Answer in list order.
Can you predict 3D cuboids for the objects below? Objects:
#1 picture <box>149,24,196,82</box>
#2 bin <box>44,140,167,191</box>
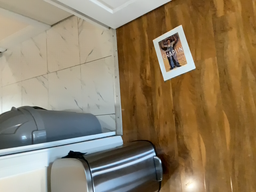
[{"bbox_3d":[0.270,-0.270,1.340,0.220,0.010,0.300,-24,75,30],"label":"picture"},{"bbox_3d":[-0.070,0.460,1.130,0.300,0.640,0.350,-6,84,33],"label":"bin"}]
